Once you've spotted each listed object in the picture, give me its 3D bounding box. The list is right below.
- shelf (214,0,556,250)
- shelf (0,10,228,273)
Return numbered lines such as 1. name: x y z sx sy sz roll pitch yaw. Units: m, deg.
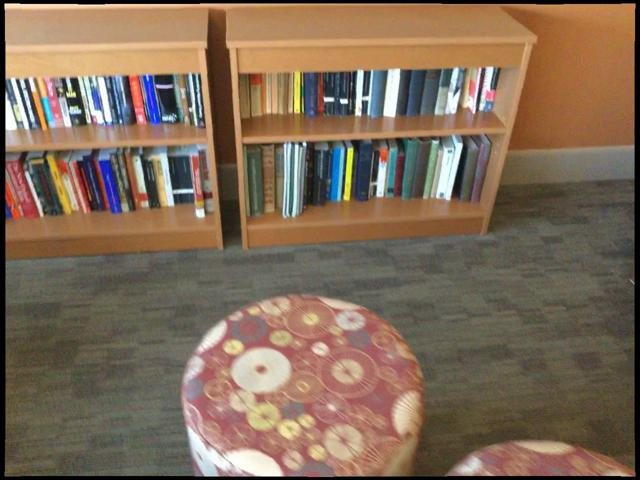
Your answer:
1. shelf: 0.170 -0.401 2.020 0.998 0.751 0.370 -3 37 -7
2. shelf: -0.828 -0.321 1.900 0.988 0.721 0.430 -3 37 -7
